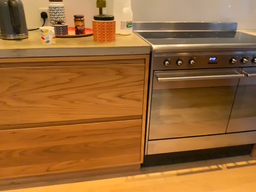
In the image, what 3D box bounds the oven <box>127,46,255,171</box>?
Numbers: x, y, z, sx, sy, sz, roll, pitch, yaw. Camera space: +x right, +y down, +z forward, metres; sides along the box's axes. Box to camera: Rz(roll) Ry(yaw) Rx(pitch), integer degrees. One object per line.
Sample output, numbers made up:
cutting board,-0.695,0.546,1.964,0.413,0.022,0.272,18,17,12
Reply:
oven,0.500,0.040,1.740,0.900,0.740,0.660,-3,26,-10
